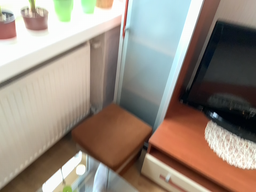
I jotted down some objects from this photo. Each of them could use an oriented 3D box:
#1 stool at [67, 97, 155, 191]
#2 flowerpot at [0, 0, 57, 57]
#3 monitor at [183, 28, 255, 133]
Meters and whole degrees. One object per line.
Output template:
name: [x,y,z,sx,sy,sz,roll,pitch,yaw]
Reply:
stool: [-0.120,0.320,1.420,0.380,0.360,0.390,35,46,27]
flowerpot: [-0.540,-0.290,0.850,0.170,0.190,0.480,28,44,21]
monitor: [0.790,-0.020,1.230,0.770,0.580,0.060,16,41,7]
